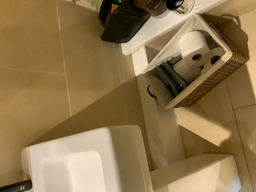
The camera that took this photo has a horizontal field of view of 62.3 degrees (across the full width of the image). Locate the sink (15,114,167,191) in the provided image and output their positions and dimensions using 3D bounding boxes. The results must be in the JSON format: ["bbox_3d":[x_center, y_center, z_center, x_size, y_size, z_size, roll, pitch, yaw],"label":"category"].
[{"bbox_3d":[-0.100,0.350,0.510,0.430,0.140,0.530,-20,76,42],"label":"sink"}]

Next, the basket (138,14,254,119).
[{"bbox_3d":[0.290,-0.110,0.990,0.420,0.190,0.240,-44,61,34],"label":"basket"}]
